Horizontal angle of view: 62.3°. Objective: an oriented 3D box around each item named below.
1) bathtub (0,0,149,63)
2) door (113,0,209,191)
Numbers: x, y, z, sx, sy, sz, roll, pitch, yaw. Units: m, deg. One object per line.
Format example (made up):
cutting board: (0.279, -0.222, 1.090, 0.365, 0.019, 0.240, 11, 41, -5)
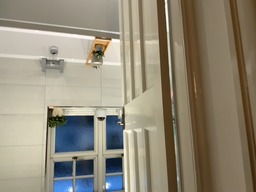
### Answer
bathtub: (-0.710, -0.760, 2.080, 1.660, 0.560, 0.690, 1, 169, -16)
door: (0.060, -0.150, 1.240, 0.100, 2.210, 1.090, 1, 170, -13)
